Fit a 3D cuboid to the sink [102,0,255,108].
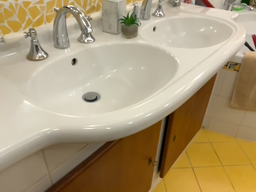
[{"bbox_3d":[0.290,-0.280,1.050,0.520,0.200,0.650,28,42,31],"label":"sink"}]
